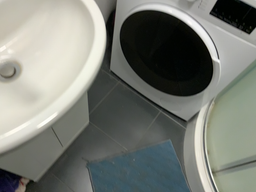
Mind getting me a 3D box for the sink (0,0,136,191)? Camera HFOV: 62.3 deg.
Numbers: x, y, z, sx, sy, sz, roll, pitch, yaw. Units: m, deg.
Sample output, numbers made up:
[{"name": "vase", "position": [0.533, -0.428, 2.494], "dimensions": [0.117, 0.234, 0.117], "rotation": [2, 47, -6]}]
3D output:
[{"name": "sink", "position": [-0.300, -0.060, 0.500], "dimensions": [0.410, 0.210, 0.480], "rotation": [35, 64, 8]}]
